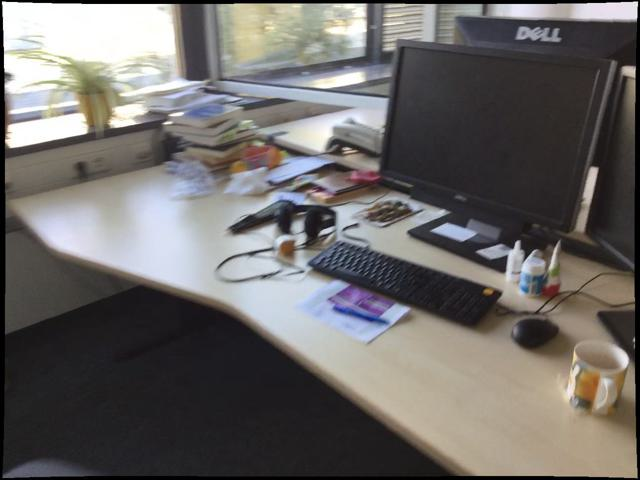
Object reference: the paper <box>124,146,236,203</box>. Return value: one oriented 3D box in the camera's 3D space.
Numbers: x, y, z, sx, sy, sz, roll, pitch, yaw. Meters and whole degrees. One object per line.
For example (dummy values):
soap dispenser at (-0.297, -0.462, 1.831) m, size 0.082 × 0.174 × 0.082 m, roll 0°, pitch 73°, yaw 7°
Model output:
paper at (-0.499, -0.240, 2.030) m, size 0.200 × 0.040 × 0.430 m, roll -23°, pitch 34°, yaw -34°

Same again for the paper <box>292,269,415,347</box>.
paper at (0.070, 0.140, 1.260) m, size 0.170 × 0.020 × 0.210 m, roll -23°, pitch 34°, yaw -34°
